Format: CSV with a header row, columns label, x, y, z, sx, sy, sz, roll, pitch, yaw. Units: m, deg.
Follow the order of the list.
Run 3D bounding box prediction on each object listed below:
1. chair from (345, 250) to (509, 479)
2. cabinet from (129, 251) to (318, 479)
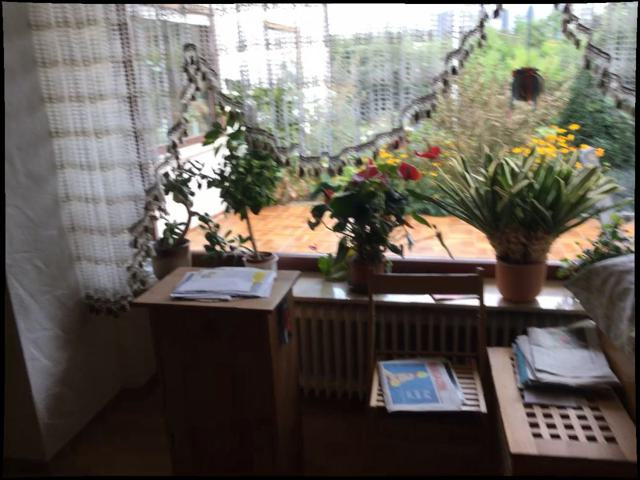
label,x,y,z,sx,sy,sz,roll,pitch,yaw
chair,0.400,0.490,2.160,0.490,0.721,0.630,2,19,12
cabinet,-0.310,0.490,2.100,0.490,0.801,0.400,2,19,12
